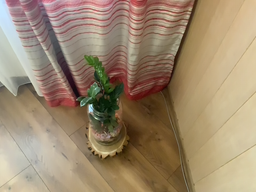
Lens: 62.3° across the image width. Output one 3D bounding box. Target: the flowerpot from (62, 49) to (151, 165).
[{"bbox_3d":[-0.120,0.100,1.200,0.310,0.610,0.330,-16,60,-13],"label":"flowerpot"}]
